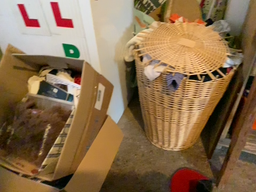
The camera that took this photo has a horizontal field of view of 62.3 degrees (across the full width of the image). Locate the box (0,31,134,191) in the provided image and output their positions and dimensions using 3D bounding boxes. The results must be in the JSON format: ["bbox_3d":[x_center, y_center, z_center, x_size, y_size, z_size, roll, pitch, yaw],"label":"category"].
[{"bbox_3d":[-0.300,0.180,0.890,0.480,0.660,0.520,15,43,19],"label":"box"}]
